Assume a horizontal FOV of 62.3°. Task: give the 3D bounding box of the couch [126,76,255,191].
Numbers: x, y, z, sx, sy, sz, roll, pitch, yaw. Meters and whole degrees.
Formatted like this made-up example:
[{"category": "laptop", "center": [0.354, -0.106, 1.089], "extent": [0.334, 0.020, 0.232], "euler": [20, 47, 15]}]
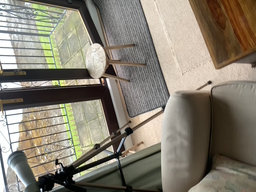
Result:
[{"category": "couch", "center": [0.580, 0.340, 1.000], "extent": [0.910, 0.750, 0.790], "euler": [11, 103, 46]}]
